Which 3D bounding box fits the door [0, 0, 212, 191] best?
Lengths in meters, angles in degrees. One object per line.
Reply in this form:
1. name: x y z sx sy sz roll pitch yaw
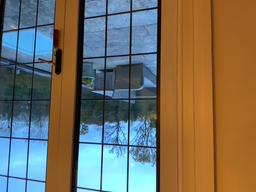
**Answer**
1. door: -0.390 0.000 1.320 1.680 2.270 0.180 0 174 17
